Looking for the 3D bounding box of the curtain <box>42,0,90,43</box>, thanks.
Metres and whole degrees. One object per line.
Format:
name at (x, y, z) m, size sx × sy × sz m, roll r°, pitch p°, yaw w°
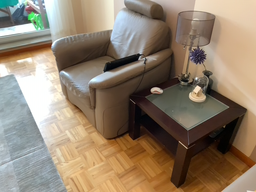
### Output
curtain at (-0.980, -2.030, 2.920) m, size 0.620 × 2.500 × 0.350 m, roll -15°, pitch 39°, yaw -21°
